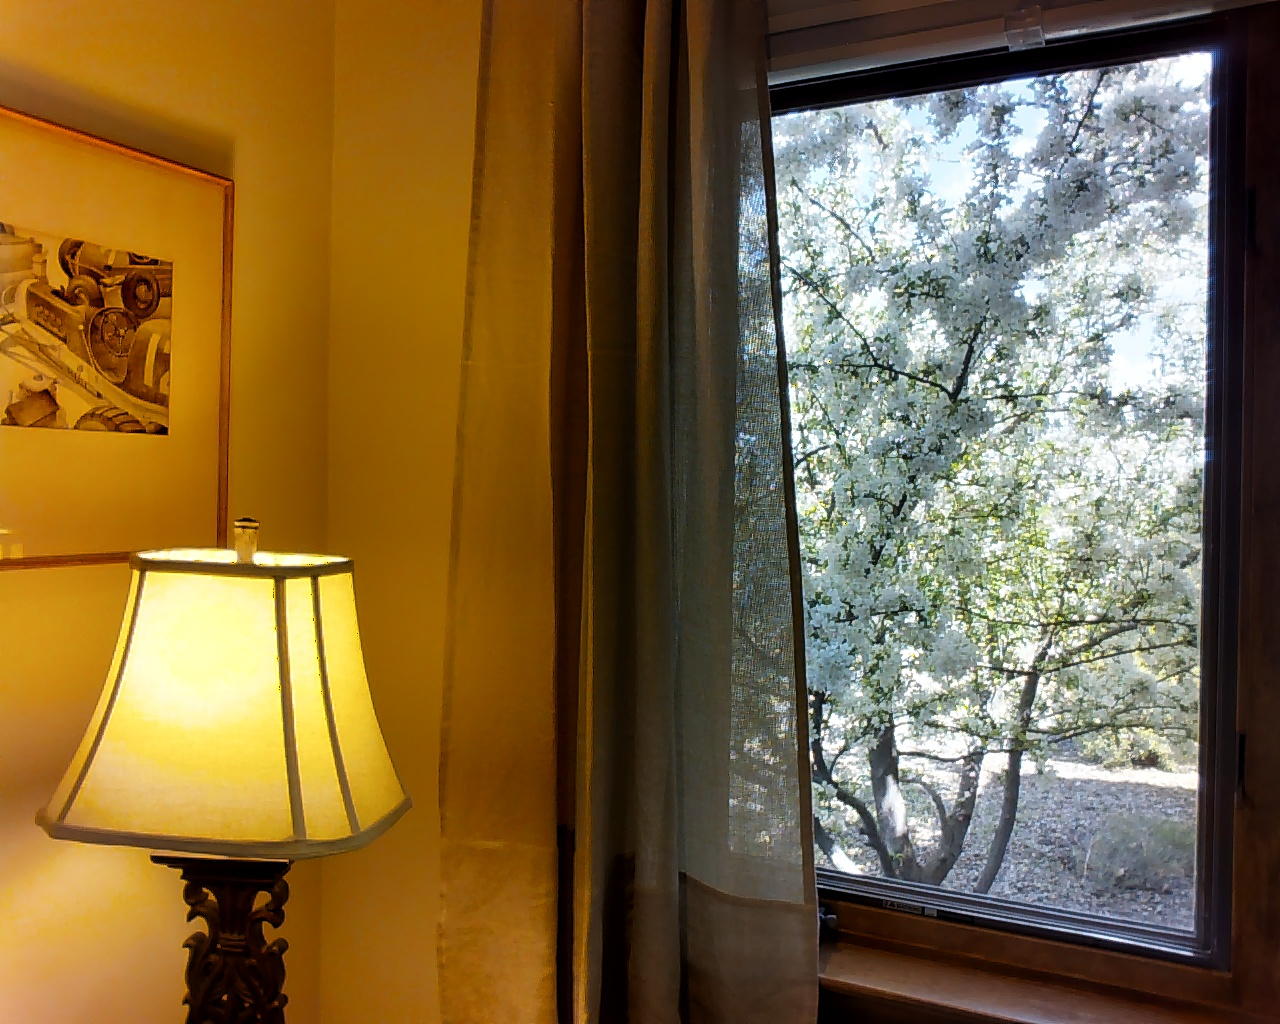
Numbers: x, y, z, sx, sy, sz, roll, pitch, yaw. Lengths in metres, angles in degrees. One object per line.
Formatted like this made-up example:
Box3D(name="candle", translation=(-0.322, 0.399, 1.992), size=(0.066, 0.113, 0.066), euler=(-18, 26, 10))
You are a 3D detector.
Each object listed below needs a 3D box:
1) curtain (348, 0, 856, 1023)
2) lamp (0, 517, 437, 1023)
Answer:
Box3D(name="curtain", translation=(-0.050, -0.070, 1.330), size=(0.560, 1.710, 0.240), euler=(1, 1, 26))
Box3D(name="lamp", translation=(-0.450, 0.440, 1.160), size=(0.390, 0.860, 0.230), euler=(1, 1, 5))
